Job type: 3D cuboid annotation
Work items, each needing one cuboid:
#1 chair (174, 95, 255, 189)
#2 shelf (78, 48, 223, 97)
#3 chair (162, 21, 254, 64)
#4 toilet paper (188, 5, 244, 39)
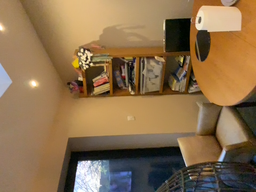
[{"bbox_3d":[0.990,0.440,2.120,0.620,0.820,0.640,-98,8,-53],"label":"chair"},{"bbox_3d":[0.310,-0.350,3.120,0.300,1.950,0.620,-99,8,-57],"label":"shelf"},{"bbox_3d":[0.900,-0.630,2.540,0.530,0.850,0.440,-111,20,-76],"label":"chair"},{"bbox_3d":[0.570,-0.500,1.420,0.240,0.240,0.180,-100,9,-61],"label":"toilet paper"}]
